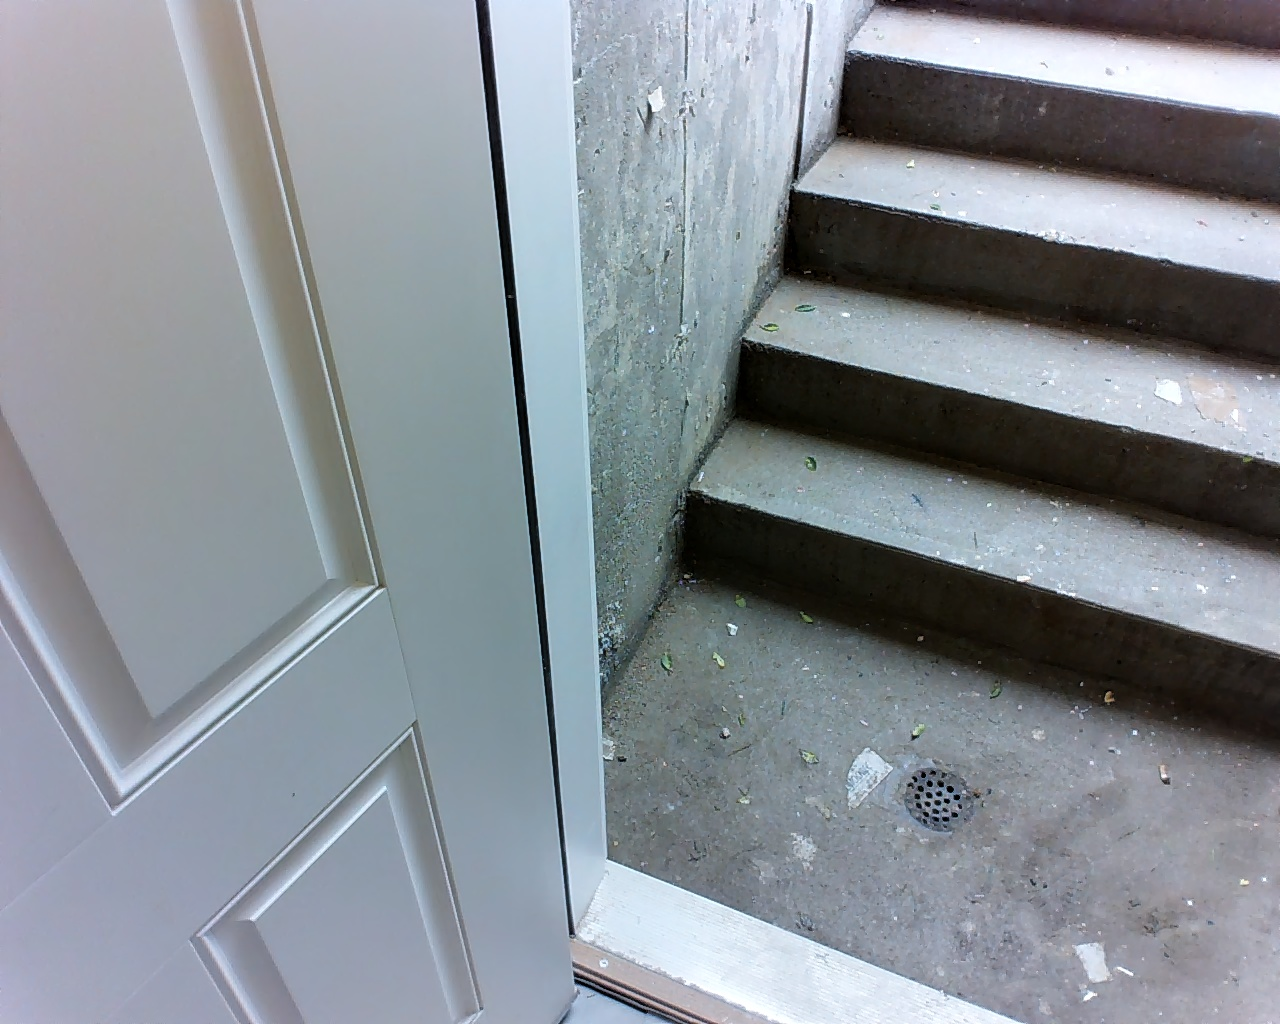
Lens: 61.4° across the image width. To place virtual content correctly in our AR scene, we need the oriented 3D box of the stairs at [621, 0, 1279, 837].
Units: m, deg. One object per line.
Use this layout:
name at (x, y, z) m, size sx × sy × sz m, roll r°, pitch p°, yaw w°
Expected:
stairs at (1.040, -0.880, 2.240) m, size 1.250 × 2.730 × 0.370 m, roll 17°, pitch -12°, yaw 17°
